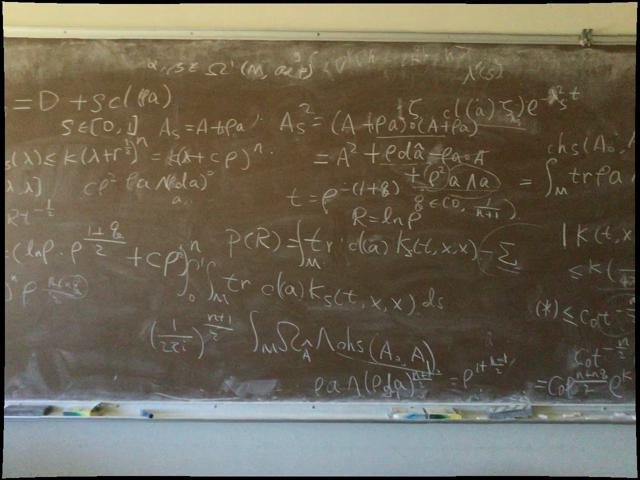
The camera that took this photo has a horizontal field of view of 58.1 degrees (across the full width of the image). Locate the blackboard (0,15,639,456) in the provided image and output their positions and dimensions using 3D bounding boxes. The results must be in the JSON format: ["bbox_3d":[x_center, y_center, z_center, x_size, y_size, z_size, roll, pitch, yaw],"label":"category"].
[{"bbox_3d":[-0.010,0.000,1.750,3.830,1.243,0.160,1,1,-3],"label":"blackboard"}]
